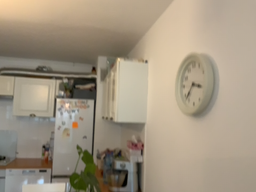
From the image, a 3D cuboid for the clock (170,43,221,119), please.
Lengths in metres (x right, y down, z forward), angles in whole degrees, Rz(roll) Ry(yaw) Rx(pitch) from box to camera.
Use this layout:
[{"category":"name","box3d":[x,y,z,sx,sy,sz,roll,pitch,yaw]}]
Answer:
[{"category":"clock","box3d":[0.370,-0.060,1.220,0.090,0.370,0.380,4,-5,-13]}]
